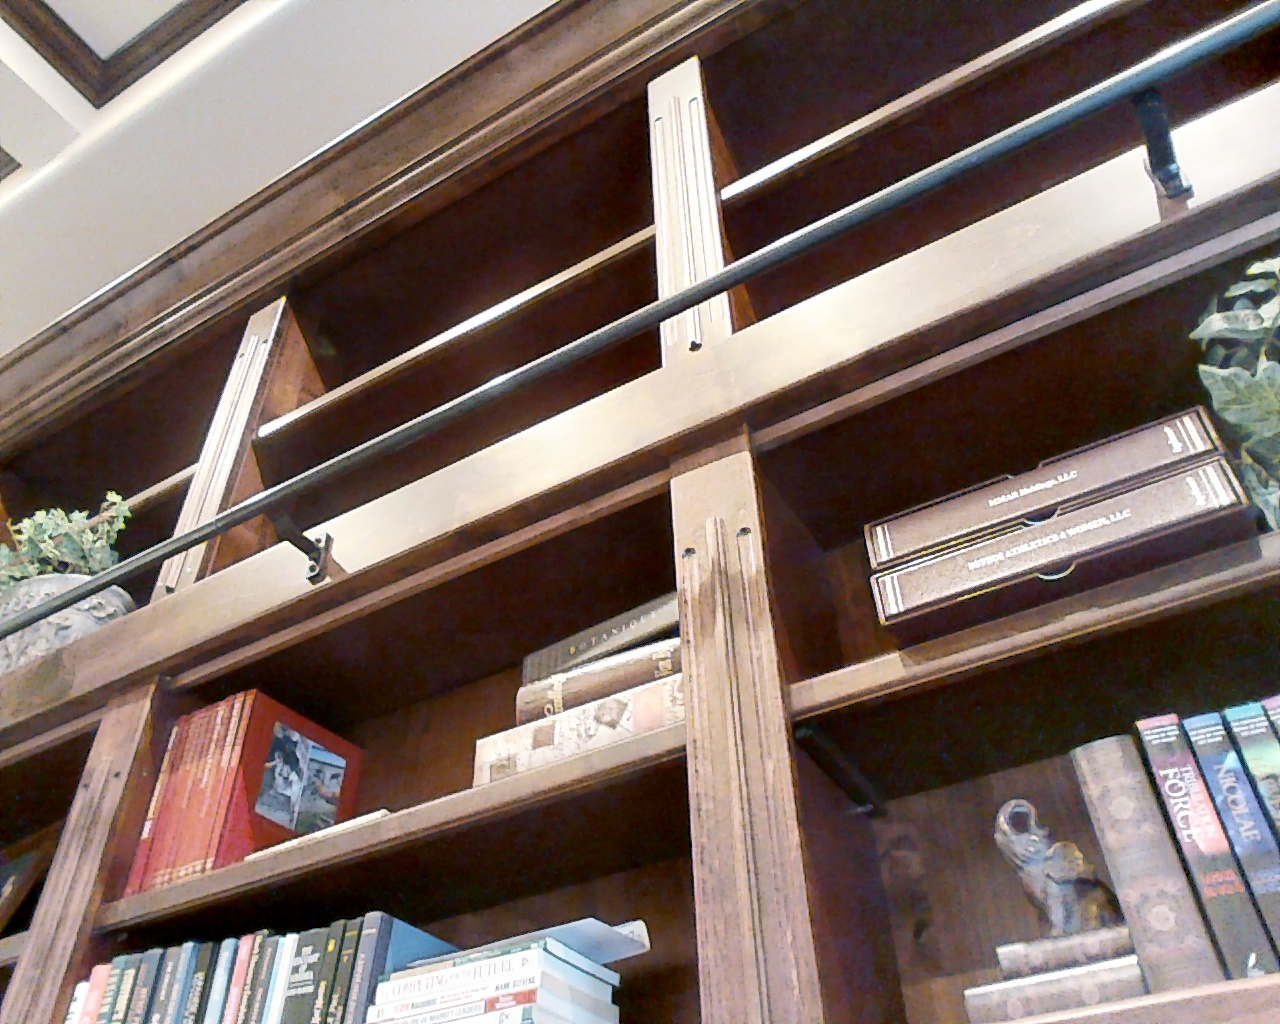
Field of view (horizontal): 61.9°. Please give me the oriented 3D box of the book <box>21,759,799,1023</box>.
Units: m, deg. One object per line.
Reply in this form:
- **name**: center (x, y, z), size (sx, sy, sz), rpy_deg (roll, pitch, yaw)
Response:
- **book**: center (-0.290, 0.570, 1.170), size (0.890, 0.290, 0.250), rpy_deg (-21, -45, 20)

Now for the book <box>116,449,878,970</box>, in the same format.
- **book**: center (-0.190, 0.290, 1.370), size (0.870, 0.320, 0.320), rpy_deg (-22, -46, 21)
